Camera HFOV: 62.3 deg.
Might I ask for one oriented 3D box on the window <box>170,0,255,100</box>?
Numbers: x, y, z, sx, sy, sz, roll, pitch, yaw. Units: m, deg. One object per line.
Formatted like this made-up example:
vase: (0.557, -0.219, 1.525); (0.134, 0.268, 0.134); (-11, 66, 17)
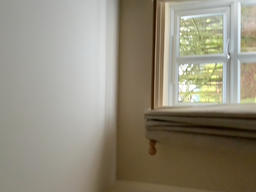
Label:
window: (0.820, -0.370, 1.590); (0.040, 0.990, 0.790); (0, -89, -73)
